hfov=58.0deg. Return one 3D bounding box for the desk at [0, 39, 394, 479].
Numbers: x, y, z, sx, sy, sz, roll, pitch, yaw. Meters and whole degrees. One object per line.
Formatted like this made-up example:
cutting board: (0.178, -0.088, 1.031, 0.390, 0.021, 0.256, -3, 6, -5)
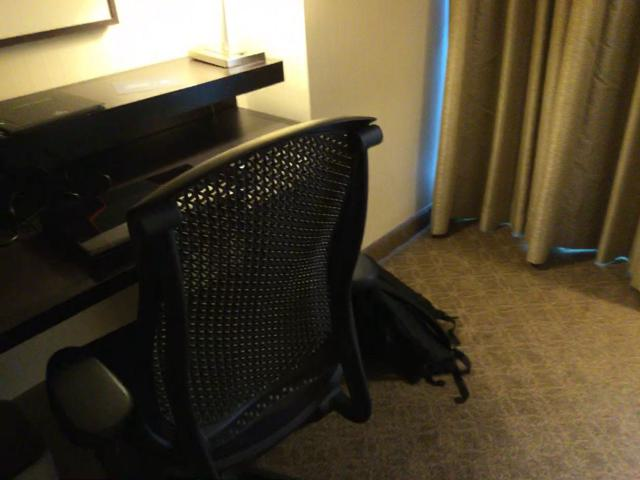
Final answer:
desk: (-0.600, 0.150, 1.480, 0.760, 0.980, 1.550, 21, 37, 40)
